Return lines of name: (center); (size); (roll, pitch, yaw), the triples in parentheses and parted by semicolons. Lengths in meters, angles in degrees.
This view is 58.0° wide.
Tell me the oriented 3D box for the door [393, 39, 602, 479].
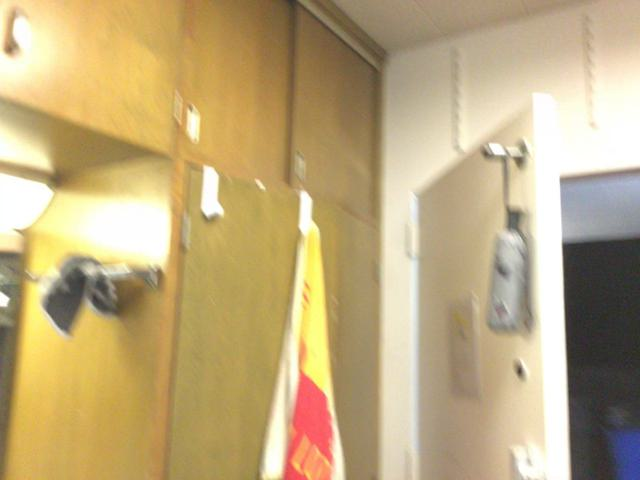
door: (0.410, 0.730, 1.530); (0.140, 2.200, 0.930); (1, -9, -8)
